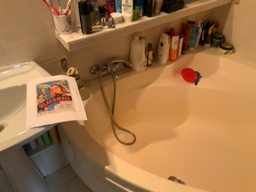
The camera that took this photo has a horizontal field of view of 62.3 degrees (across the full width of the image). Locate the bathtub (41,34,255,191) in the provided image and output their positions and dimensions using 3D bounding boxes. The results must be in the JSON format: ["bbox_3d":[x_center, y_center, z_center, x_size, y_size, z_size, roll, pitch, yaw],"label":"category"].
[{"bbox_3d":[0.490,0.330,1.320,1.450,0.580,1.410,-25,48,-27],"label":"bathtub"}]

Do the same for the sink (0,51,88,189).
[{"bbox_3d":[-0.560,0.100,0.870,0.600,0.220,0.490,-25,48,-27],"label":"sink"}]
